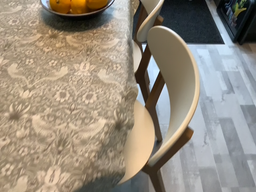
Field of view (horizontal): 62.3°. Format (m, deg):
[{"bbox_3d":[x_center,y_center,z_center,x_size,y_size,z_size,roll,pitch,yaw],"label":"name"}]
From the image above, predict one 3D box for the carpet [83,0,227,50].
[{"bbox_3d":[0.240,-0.740,2.090,1.250,0.040,0.770,1,52,-1],"label":"carpet"}]
